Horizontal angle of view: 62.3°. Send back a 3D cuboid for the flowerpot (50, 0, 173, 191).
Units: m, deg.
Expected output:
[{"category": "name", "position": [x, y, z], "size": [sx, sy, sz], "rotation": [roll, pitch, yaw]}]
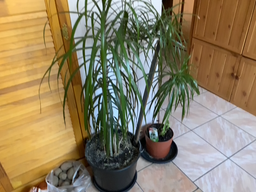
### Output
[{"category": "flowerpot", "position": [-0.070, 0.070, 1.110], "size": [0.350, 1.130, 0.340], "rotation": [-20, 38, -26]}]
